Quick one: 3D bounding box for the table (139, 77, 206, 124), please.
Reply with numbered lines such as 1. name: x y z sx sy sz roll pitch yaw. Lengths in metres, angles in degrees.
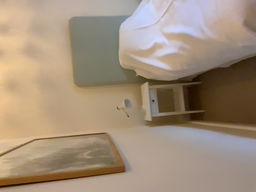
1. table: 0.560 0.060 2.790 0.430 0.690 0.500 157 106 -79
